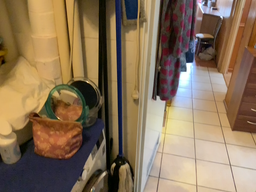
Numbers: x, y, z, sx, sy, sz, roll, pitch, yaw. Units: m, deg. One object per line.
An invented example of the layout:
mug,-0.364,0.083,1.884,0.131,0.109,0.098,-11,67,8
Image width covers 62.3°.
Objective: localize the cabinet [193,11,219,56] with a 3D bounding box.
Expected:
cabinet,1.810,-1.500,5.020,0.360,0.860,0.780,9,29,11
